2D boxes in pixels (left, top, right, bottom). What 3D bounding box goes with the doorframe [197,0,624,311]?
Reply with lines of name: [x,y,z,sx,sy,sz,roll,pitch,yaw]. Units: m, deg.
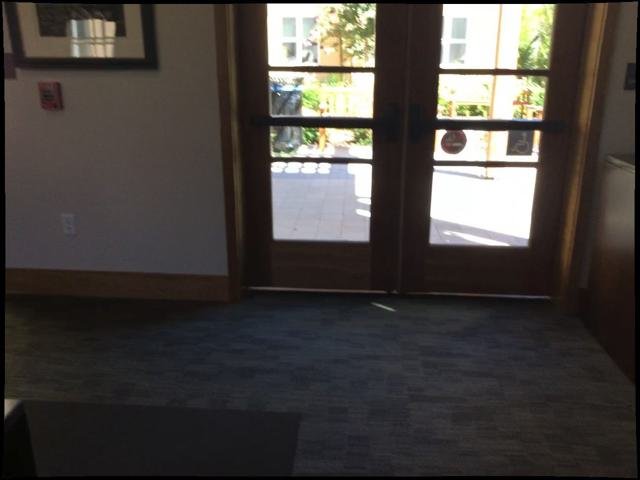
doorframe: [0.400,-0.581,2.980,1.918,1.852,0.330,2,20,6]
